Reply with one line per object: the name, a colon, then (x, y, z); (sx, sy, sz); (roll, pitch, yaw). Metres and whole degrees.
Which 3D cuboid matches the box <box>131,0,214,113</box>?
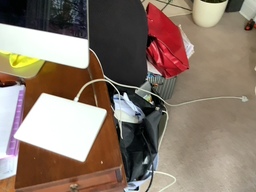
box: (0.240, -0.280, 1.470); (0.320, 0.540, 0.530); (-10, 51, -8)
